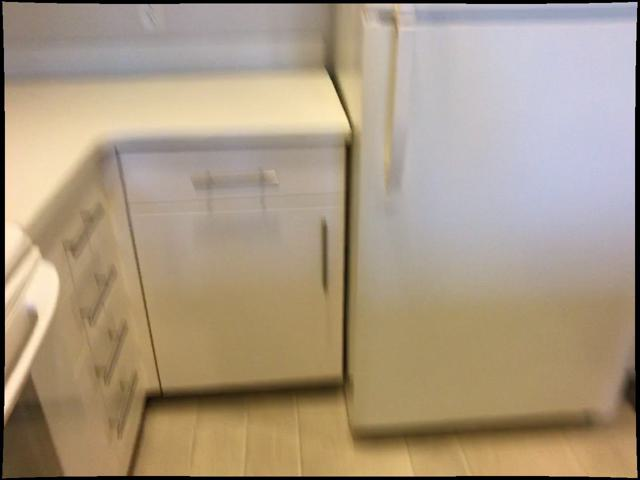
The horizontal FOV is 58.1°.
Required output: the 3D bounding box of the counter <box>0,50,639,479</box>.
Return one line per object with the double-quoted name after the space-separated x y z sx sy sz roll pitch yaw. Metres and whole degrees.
0.030 0.201 0.610 2.184 0.090 3.022 -3 30 -4 "counter"
